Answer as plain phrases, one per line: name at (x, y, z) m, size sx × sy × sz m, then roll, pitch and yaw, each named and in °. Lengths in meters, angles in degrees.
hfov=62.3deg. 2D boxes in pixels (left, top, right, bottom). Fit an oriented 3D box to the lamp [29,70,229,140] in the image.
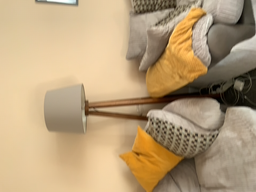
lamp at (0.040, 0.100, 1.980) m, size 0.420 × 1.680 × 0.520 m, roll 139°, pitch 129°, yaw -72°
